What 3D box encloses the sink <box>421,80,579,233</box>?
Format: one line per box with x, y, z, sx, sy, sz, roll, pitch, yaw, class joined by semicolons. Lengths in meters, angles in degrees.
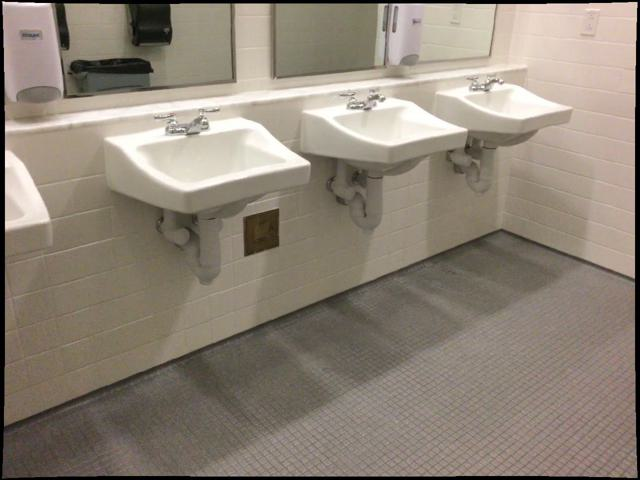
0.838;-0.421;2.740;0.499;0.551;0.440;-19;31;-35;sink

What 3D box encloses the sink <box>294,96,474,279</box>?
0.239;-0.241;2.300;0.519;0.531;0.440;-19;31;-35;sink

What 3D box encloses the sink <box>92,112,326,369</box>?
-0.339;-0.040;1.870;0.549;0.591;0.450;-19;31;-35;sink
